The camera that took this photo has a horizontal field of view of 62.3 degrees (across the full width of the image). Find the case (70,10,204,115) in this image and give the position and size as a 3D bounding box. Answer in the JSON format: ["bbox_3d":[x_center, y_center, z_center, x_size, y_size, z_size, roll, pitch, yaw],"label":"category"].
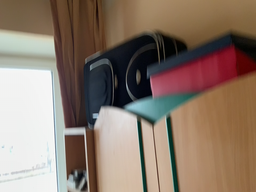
[{"bbox_3d":[-0.020,-0.100,1.130,0.330,0.330,0.700,-1,-8,-35],"label":"case"}]
